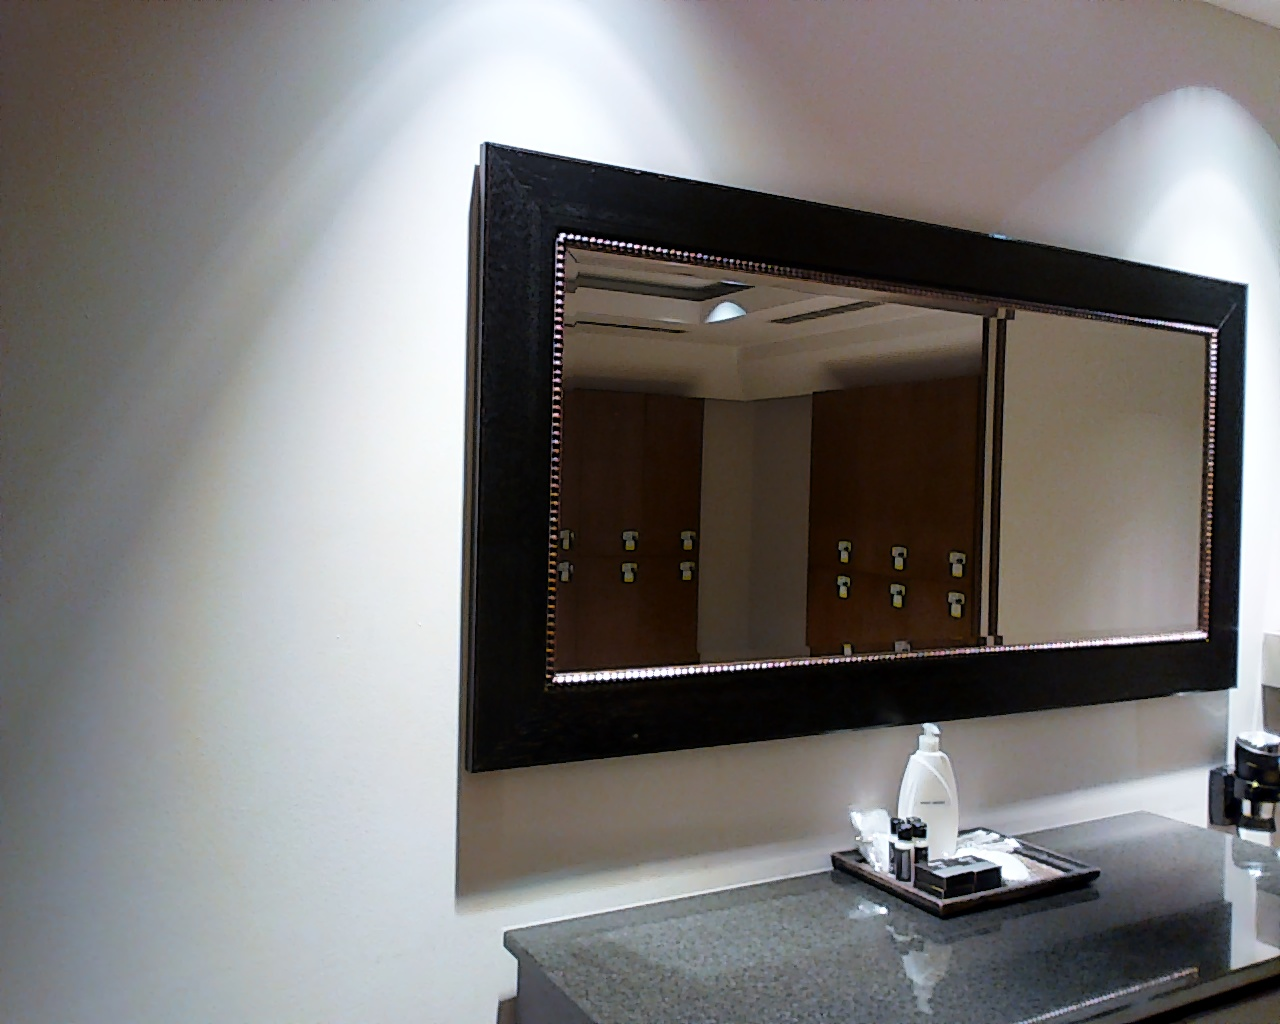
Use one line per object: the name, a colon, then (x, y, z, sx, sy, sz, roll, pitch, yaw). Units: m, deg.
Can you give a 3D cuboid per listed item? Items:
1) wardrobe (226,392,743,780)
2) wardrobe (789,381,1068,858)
wardrobe: (-0.880, 0.420, 6.800, 3.149, 2.080, 0.670, 1, 0, -28)
wardrobe: (1.470, 0.490, 5.860, 0.210, 2.210, 1.860, 1, 0, -28)
